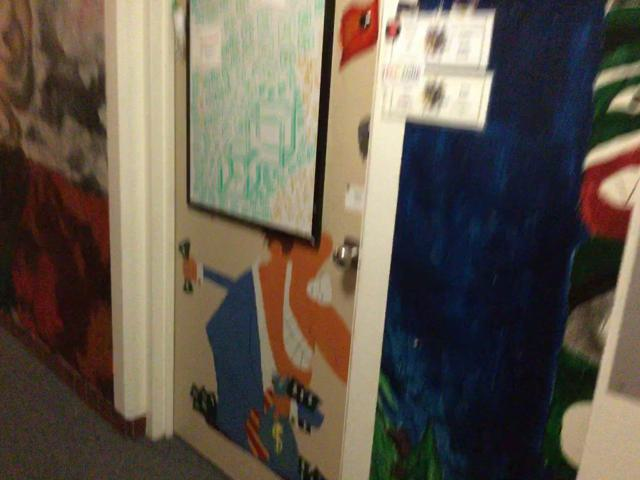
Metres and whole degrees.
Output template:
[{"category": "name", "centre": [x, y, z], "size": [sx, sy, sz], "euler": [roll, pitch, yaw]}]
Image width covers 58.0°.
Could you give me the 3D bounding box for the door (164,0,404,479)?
[{"category": "door", "centre": [-0.190, -0.140, 1.660], "size": [0.070, 2.090, 0.880], "euler": [-12, 23, -43]}]

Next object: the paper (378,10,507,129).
[{"category": "paper", "centre": [0.210, -0.310, 1.040], "size": [0.020, 0.190, 0.230], "euler": [-12, 23, -44]}]

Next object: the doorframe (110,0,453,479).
[{"category": "doorframe", "centre": [-0.220, -0.170, 1.580], "size": [0.200, 2.190, 1.090], "euler": [-12, 23, -43]}]
